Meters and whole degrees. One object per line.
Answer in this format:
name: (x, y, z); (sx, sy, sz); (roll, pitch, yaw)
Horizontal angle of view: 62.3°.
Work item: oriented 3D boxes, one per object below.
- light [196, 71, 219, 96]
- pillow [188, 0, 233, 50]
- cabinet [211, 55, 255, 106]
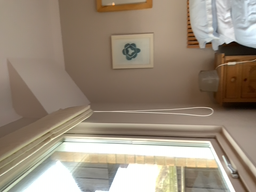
light: (0.770, -0.130, 2.080); (0.230, 0.170, 0.210); (-47, -44, -75)
pillow: (0.710, -0.850, 1.880); (0.460, 0.290, 0.820); (-41, -51, -77)
cabinet: (1.150, -0.160, 1.990); (0.400, 0.620, 0.430); (-42, -49, -76)
